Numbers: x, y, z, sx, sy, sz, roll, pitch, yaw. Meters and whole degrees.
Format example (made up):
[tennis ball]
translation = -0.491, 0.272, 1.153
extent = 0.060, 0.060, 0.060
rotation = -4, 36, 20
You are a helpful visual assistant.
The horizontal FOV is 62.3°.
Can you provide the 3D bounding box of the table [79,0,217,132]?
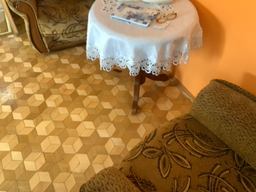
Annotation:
[table]
translation = 0.080, -0.260, 1.450
extent = 0.570, 0.690, 0.560
rotation = -20, 53, -18
